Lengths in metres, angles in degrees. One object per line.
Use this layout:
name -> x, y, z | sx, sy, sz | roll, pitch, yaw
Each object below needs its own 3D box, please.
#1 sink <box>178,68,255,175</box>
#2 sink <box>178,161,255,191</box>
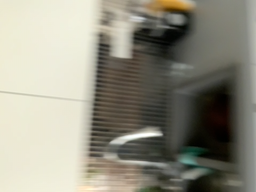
sink -> 0.460, 0.140, 1.080 | 0.460, 0.180, 0.420 | 150, 126, -70
sink -> 0.410, 0.430, 1.020 | 0.460, 0.110, 0.170 | 150, 126, -70
